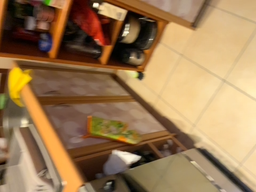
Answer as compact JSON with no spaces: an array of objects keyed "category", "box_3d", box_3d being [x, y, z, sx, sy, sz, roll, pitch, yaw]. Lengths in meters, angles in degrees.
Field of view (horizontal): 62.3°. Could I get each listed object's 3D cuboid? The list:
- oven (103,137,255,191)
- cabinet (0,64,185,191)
[{"category":"oven","box_3d":[0.250,0.660,1.050,0.540,0.670,0.600,42,119,37]},{"category":"cabinet","box_3d":[-0.280,0.260,1.470,0.830,0.860,0.570,42,119,37]}]
